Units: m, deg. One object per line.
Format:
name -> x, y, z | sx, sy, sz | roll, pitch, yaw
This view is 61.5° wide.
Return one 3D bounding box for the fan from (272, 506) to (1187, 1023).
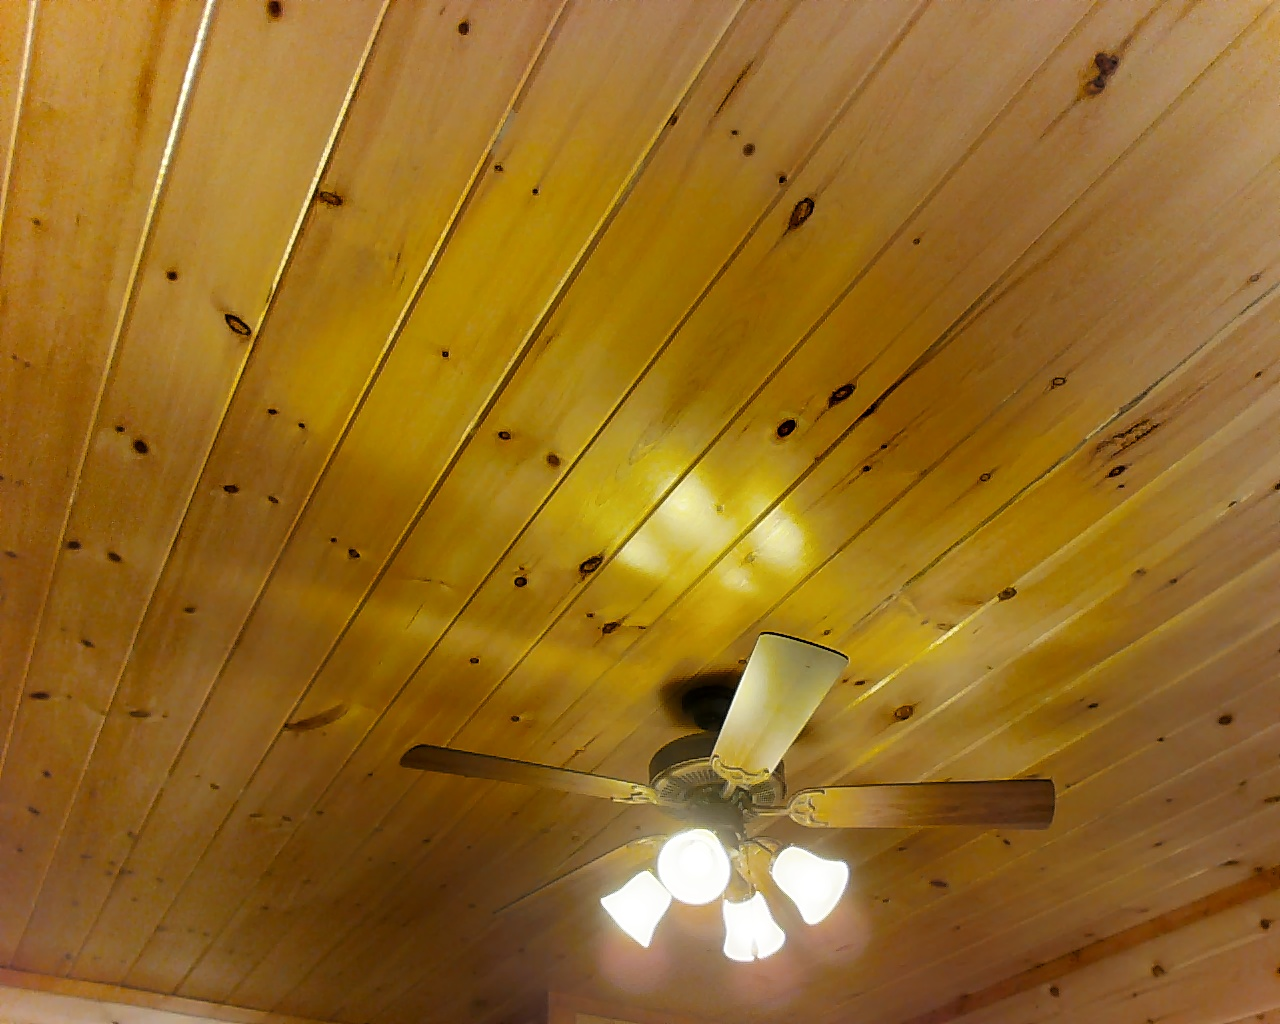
fan -> 0.140, 0.530, 2.200 | 1.350, 0.390, 1.280 | 2, -35, -37
